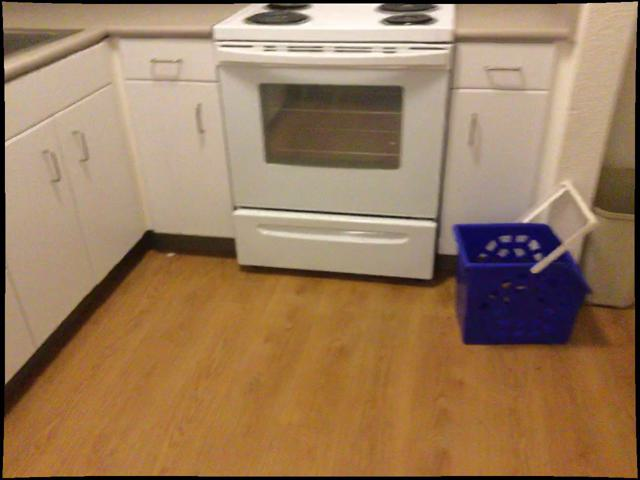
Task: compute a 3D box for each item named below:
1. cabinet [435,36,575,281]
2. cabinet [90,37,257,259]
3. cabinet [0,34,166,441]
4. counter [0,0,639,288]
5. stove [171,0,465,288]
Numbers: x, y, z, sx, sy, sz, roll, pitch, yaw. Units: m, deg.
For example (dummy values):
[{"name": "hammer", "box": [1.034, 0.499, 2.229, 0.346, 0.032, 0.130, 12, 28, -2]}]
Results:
[{"name": "cabinet", "box": [0.579, -0.240, 1.910, 0.340, 0.811, 0.110, 5, 33, 13]}, {"name": "cabinet", "box": [-0.519, -0.320, 2.170, 0.470, 0.831, 0.100, 5, 33, 13]}, {"name": "cabinet", "box": [-0.859, -0.060, 1.790, 0.110, 0.861, 1.130, 5, 33, 13]}, {"name": "counter", "box": [-0.360, -0.581, 1.670, 2.128, 0.260, 1.730, 5, 33, 13]}, {"name": "stove", "box": [0.070, -0.551, 2.180, 0.869, 1.171, 0.730, 5, 33, 13]}]
